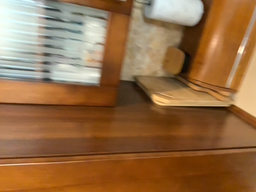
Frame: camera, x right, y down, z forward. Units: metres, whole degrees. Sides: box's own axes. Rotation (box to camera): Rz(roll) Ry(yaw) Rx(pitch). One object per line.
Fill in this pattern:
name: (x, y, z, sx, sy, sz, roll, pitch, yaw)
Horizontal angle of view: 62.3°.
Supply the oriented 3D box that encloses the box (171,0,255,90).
box: (0.390, -0.270, 0.950, 0.270, 0.180, 0.400, -124, 42, -57)
